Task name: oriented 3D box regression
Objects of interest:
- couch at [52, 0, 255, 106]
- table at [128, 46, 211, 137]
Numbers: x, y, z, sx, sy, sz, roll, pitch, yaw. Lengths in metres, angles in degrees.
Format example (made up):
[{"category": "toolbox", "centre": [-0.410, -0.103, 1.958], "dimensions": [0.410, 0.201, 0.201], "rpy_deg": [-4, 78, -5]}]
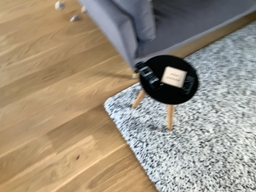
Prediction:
[{"category": "couch", "centre": [0.590, -0.990, 1.540], "dimensions": [2.110, 0.800, 1.020], "rpy_deg": [-28, 65, -19]}, {"category": "table", "centre": [0.200, -0.010, 1.190], "dimensions": [0.270, 0.370, 0.270], "rpy_deg": [-28, 65, -19]}]
